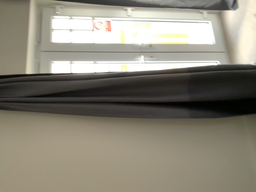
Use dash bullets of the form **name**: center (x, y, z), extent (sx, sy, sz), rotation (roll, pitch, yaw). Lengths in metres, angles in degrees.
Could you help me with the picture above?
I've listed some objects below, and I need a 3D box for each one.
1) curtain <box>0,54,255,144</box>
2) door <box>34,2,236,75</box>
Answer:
- **curtain**: center (0.060, 0.000, 1.680), extent (0.260, 2.440, 0.580), rotation (123, 143, -73)
- **door**: center (0.120, -0.620, 2.290), extent (0.090, 2.090, 0.760), rotation (122, 144, -72)
